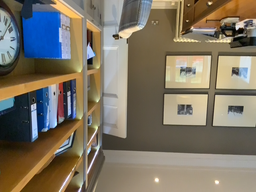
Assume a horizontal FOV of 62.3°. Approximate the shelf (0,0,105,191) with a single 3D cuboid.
[{"bbox_3d":[-0.640,0.300,1.260,0.530,1.630,2.940,1,-170,3],"label":"shelf"}]
